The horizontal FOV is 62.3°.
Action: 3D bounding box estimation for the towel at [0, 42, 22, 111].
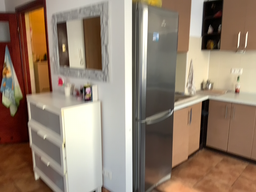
[{"bbox_3d":[-1.820,-0.290,3.170,0.300,1.010,0.170,-2,12,-11],"label":"towel"}]
